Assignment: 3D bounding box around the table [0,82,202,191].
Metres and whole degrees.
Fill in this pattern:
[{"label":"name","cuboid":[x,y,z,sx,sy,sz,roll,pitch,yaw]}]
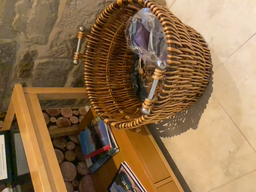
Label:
[{"label":"table","cuboid":[-0.080,0.560,1.040,0.490,0.760,1.220,-51,56,35]}]
